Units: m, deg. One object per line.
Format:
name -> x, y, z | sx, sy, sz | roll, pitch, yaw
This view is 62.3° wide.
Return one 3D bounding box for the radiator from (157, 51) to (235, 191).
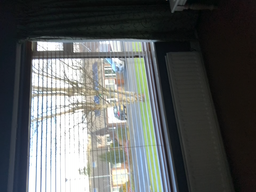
radiator -> 0.710, 0.440, 2.240 | 0.170, 0.520, 1.970 | 114, 152, -69
